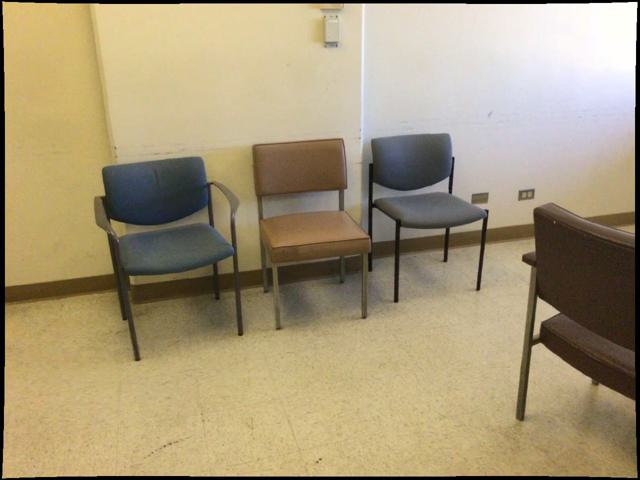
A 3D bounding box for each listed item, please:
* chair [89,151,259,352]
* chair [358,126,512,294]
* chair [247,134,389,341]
[{"bbox_3d":[-0.698,0.010,2.720,0.609,0.651,0.650,-11,25,-18],"label":"chair"},{"bbox_3d":[0.578,-0.190,3.100,0.569,0.671,0.620,-8,24,-12],"label":"chair"},{"bbox_3d":[-0.020,-0.040,2.860,0.559,0.802,0.600,-7,24,-9],"label":"chair"}]
